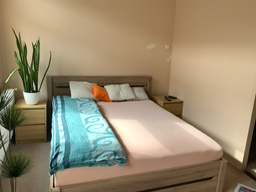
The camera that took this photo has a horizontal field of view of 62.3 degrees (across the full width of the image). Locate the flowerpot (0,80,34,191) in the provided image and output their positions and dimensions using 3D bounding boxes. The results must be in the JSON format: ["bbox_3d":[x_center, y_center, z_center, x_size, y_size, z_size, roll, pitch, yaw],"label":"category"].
[{"bbox_3d":[-0.870,0.460,1.540,0.300,1.110,0.290,-5,17,-28],"label":"flowerpot"}]

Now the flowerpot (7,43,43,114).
[{"bbox_3d":[-1.420,-0.260,2.980,0.350,0.930,0.360,-1,15,-16],"label":"flowerpot"}]

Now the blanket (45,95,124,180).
[{"bbox_3d":[-0.600,0.300,2.500,0.600,0.150,1.880,-2,15,-18],"label":"blanket"}]
